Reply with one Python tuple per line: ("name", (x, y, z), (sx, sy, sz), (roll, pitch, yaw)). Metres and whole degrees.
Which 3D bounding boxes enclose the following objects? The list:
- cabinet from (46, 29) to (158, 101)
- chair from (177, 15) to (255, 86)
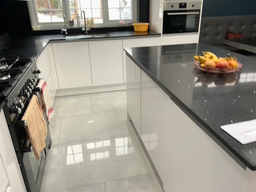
("cabinet", (-0.410, -0.570, 3.560), (1.600, 0.900, 0.790), (-6, 25, -11))
("chair", (1.890, -0.880, 3.930), (1.780, 1.080, 0.560), (-6, 25, -11))
